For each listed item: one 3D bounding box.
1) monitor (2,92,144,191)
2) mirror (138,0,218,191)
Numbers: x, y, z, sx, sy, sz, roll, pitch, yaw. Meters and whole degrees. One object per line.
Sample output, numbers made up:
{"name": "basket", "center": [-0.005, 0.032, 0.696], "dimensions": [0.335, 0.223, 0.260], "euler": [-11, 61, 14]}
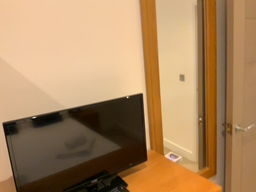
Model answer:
{"name": "monitor", "center": [-0.170, 0.210, 0.870], "dimensions": [0.540, 0.360, 0.050], "euler": [-12, 15, -32]}
{"name": "mirror", "center": [0.350, -0.060, 1.340], "dimensions": [0.600, 1.430, 0.030], "euler": [-11, 14, -30]}
